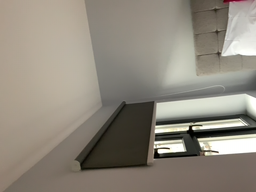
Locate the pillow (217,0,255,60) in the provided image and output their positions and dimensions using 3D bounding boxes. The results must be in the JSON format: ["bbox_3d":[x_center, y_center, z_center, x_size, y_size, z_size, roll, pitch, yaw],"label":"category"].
[{"bbox_3d":[1.180,-0.690,2.120,0.150,0.480,0.600,-19,-75,-56],"label":"pillow"}]
